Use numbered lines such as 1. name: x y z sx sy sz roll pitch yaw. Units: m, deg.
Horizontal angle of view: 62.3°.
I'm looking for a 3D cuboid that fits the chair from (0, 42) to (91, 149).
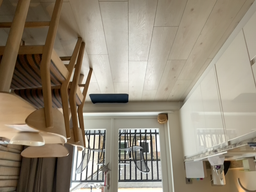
1. chair: -0.670 0.020 1.910 0.550 0.840 0.490 -1 160 0
